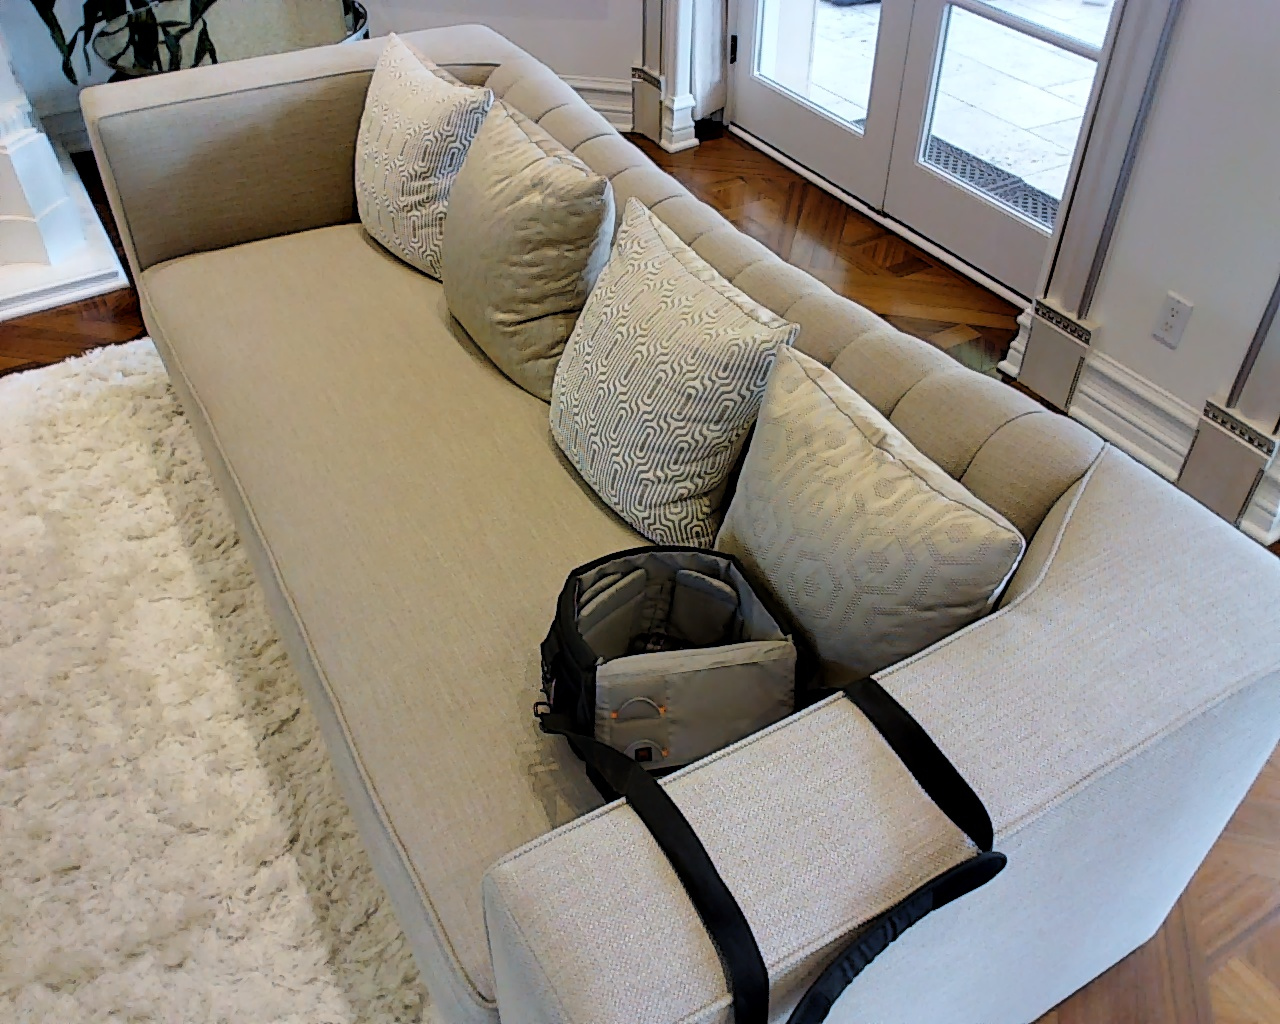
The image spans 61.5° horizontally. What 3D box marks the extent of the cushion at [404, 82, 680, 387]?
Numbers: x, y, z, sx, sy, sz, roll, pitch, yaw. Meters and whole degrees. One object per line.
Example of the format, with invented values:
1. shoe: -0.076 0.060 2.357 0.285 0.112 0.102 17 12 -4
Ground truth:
1. cushion: -0.210 -0.510 2.100 0.270 0.440 0.510 -21 11 -22

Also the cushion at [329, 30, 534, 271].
1. cushion: -0.490 -0.800 2.460 0.230 0.410 0.510 -21 16 -22

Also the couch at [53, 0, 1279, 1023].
1. couch: -0.230 -0.160 2.100 1.100 0.810 2.590 -21 45 -22

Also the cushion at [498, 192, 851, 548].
1. cushion: 0.030 -0.230 1.790 0.250 0.450 0.580 -21 14 -22

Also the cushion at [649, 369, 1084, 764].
1. cushion: 0.270 0.050 1.440 0.220 0.390 0.520 -21 10 -22
